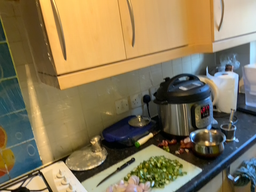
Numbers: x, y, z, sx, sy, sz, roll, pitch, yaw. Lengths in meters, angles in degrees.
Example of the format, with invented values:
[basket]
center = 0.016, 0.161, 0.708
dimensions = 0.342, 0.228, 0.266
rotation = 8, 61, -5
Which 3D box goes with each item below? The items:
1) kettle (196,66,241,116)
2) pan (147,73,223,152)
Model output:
[kettle]
center = 0.570, -0.040, 1.330
dimensions = 0.230, 0.240, 0.160
rotation = -20, 20, -32
[pan]
center = 0.300, 0.060, 1.100
dimensions = 0.270, 0.290, 0.250
rotation = -20, 20, -33
